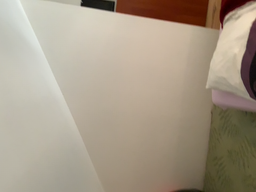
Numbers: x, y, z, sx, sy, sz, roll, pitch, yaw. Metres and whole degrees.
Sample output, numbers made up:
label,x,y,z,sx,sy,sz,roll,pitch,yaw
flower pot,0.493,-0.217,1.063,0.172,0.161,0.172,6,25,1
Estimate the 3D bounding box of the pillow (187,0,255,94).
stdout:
label,x,y,z,sx,sy,sz,roll,pitch,yaw
pillow,0.440,-0.190,0.890,0.490,0.150,0.340,-163,80,-83
